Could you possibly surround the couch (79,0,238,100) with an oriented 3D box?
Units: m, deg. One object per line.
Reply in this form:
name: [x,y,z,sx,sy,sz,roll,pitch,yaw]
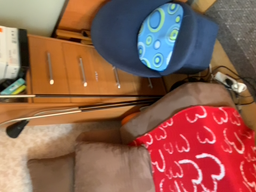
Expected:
couch: [0.160,-0.350,1.390,0.600,0.680,0.520,-43,55,44]
